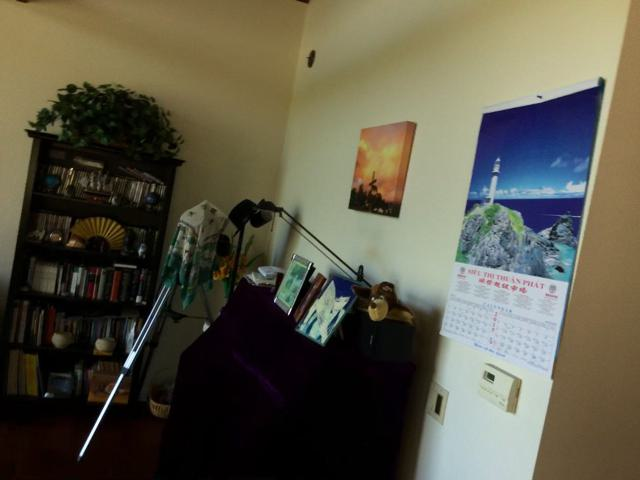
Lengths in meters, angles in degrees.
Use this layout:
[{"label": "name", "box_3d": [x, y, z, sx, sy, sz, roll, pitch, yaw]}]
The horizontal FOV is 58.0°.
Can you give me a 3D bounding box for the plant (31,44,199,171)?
[{"label": "plant", "box_3d": [-1.320, -0.820, 3.770, 0.870, 0.530, 0.530, 13, 2, -21]}]
